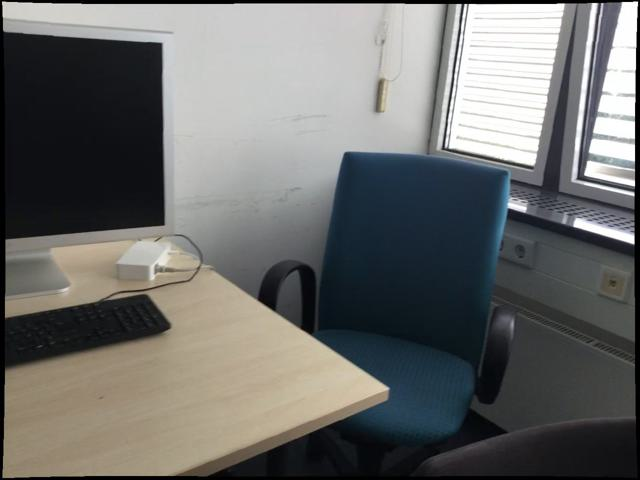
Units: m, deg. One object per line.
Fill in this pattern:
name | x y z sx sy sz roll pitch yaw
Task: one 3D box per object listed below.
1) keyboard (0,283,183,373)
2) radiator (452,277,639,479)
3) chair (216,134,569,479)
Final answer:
keyboard | -0.480 0.160 1.020 0.440 0.030 0.150 -11 24 -36
radiator | 0.889 0.541 1.590 0.230 0.500 1.080 -11 24 -36
chair | 0.190 0.280 1.540 0.650 0.971 0.660 13 21 25
